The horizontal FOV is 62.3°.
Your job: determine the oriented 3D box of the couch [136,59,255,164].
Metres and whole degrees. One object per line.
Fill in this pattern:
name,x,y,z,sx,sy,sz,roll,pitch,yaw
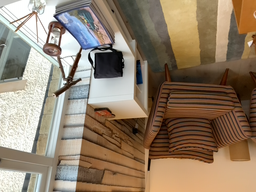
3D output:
couch,0.570,0.220,2.170,0.860,0.790,0.820,5,157,-5

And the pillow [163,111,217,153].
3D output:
pillow,0.600,0.350,2.100,0.470,0.310,0.150,7,145,6
